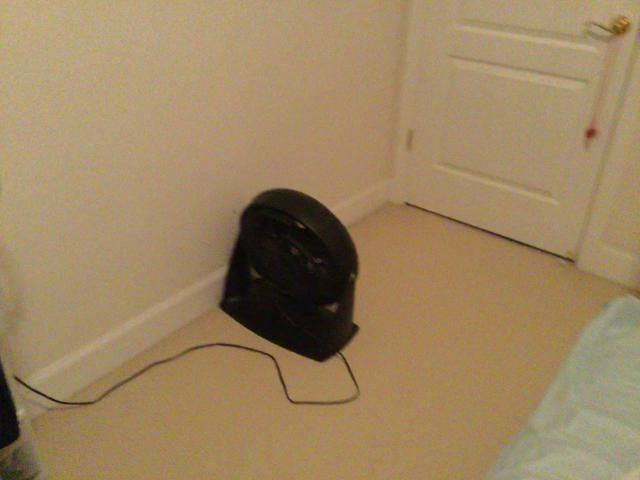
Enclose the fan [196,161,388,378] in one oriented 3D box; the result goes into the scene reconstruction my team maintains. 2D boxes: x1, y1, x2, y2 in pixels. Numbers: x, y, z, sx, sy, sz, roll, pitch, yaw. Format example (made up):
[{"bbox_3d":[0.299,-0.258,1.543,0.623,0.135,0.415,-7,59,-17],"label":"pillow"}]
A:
[{"bbox_3d":[-0.100,0.070,1.920,0.500,0.490,0.340,22,33,32],"label":"fan"}]
